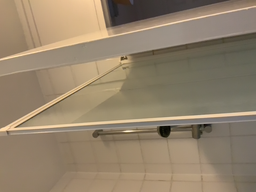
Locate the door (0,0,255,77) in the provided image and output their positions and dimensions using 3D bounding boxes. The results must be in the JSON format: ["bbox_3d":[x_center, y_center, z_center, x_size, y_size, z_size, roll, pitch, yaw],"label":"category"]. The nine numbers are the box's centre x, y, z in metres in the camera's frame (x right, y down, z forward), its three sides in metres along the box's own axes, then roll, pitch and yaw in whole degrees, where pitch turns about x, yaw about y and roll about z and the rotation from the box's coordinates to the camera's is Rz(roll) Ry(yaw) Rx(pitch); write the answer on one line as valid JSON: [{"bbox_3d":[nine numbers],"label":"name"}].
[{"bbox_3d":[0.720,-0.310,0.470,0.820,2.020,0.070,-55,-44,-63],"label":"door"}]
